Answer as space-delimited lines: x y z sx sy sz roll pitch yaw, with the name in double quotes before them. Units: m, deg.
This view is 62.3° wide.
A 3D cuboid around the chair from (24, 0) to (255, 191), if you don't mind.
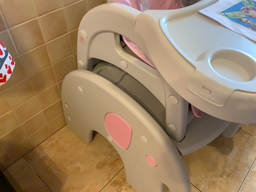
"chair" 0.150 -0.130 0.750 0.690 0.990 0.600 36 56 24
